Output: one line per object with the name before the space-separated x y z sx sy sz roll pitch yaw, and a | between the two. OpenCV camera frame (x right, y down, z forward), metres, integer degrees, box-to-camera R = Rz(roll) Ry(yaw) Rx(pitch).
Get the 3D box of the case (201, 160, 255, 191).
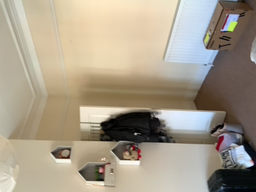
case | 1.110 0.900 2.250 0.350 0.490 0.280 98 173 -47
